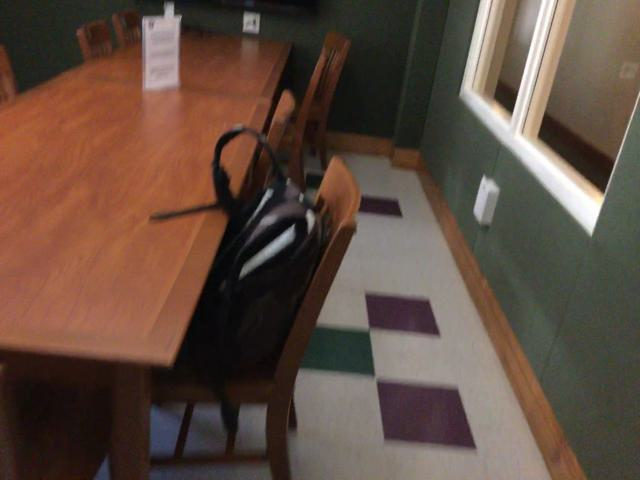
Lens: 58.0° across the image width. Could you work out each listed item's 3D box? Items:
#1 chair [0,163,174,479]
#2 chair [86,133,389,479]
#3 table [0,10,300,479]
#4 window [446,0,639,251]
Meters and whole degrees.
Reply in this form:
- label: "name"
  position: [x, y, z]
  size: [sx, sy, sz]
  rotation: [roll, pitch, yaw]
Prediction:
- label: "chair"
  position: [-0.590, 0.400, 1.080]
  size: [0.470, 0.890, 0.660]
  rotation: [7, 26, -4]
- label: "chair"
  position: [-0.210, 0.250, 1.500]
  size: [0.570, 0.870, 0.490]
  rotation: [7, 26, -4]
- label: "table"
  position: [-0.730, -0.350, 2.600]
  size: [1.110, 0.830, 3.590]
  rotation: [7, 26, -4]
- label: "window"
  position: [0.930, -0.930, 2.270]
  size: [0.210, 1.200, 1.880]
  rotation: [7, 26, -4]
